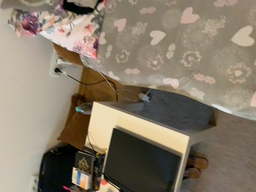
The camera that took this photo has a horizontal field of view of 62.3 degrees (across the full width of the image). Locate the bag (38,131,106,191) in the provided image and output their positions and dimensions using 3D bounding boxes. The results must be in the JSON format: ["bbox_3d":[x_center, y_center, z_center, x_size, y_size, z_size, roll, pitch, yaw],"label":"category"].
[{"bbox_3d":[-0.480,0.690,1.760,0.340,0.320,0.680,18,99,33],"label":"bag"}]
